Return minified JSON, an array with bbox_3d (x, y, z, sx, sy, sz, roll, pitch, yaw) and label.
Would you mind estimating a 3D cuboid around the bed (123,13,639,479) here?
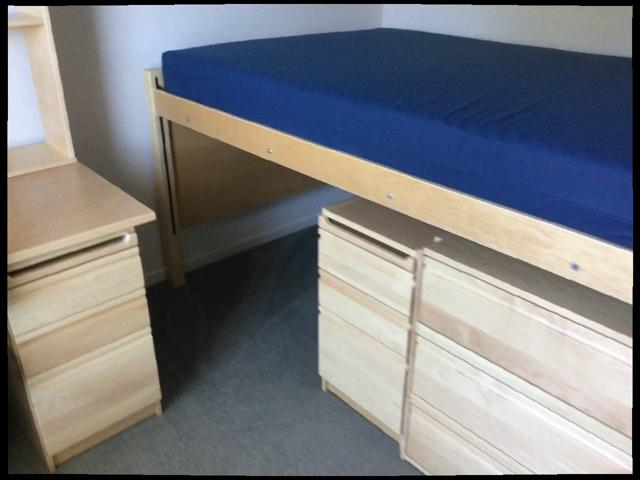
[{"bbox_3d":[0.539,-0.150,2.310,1.589,1.122,2.249,-22,35,-36],"label":"bed"}]
